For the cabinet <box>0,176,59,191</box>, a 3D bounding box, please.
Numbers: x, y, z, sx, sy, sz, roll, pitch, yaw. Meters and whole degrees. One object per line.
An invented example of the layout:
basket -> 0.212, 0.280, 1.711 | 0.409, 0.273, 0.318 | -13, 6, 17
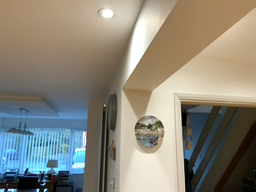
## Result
cabinet -> -2.490, 2.340, 4.990 | 1.510, 0.760, 0.580 | 3, -13, -10
